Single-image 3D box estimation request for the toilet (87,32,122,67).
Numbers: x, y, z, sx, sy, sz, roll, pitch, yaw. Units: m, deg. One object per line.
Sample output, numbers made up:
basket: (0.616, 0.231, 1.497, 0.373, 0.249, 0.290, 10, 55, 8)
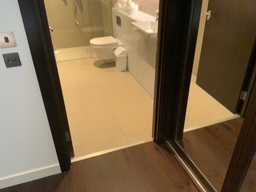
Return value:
toilet: (-0.420, -0.840, 3.790, 0.520, 0.460, 0.400, -11, 32, -16)
